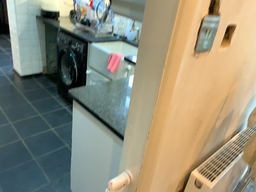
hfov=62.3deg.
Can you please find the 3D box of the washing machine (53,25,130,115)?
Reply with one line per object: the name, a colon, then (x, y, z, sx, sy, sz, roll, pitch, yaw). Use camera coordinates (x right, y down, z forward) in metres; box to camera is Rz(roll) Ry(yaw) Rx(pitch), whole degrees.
washing machine: (-0.490, -0.370, 2.690, 0.670, 0.890, 0.600, -17, 37, -40)
